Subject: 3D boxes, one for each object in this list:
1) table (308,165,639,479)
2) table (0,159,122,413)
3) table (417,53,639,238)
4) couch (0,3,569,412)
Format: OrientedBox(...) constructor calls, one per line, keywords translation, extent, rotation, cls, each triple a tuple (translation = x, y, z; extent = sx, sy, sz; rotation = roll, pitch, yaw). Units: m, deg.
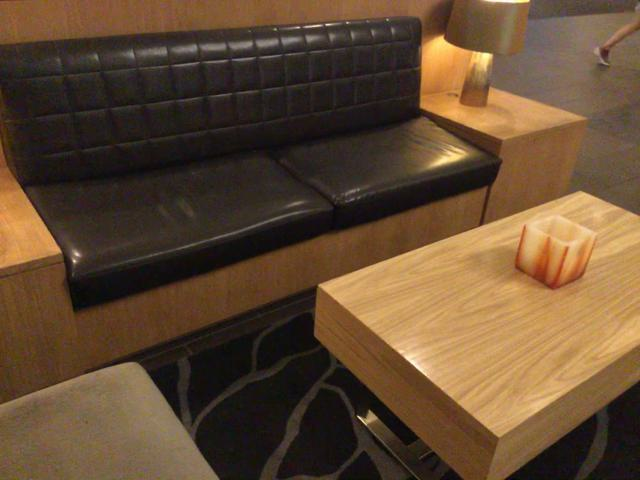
OrientedBox(translation=(0.720, 0.250, 1.780), extent=(1.380, 0.530, 0.660), rotation=(-18, 33, -31), cls="table")
OrientedBox(translation=(-0.910, 0.100, 1.790), extent=(0.310, 0.490, 0.630), rotation=(-18, 33, -31), cls="table")
OrientedBox(translation=(1.040, -0.530, 2.970), extent=(0.770, 0.660, 0.670), rotation=(-18, 33, -31), cls="table")
OrientedBox(translation=(-0.050, -0.330, 2.280), extent=(2.040, 0.970, 0.740), rotation=(-18, 33, -31), cls="couch")
